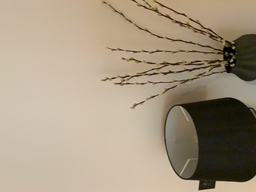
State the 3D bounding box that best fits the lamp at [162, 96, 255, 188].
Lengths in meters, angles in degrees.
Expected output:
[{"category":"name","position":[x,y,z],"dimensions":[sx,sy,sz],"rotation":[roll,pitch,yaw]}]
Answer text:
[{"category":"lamp","position":[0.430,0.160,0.850],"dimensions":[0.190,0.530,0.280],"rotation":[-132,42,-74]}]
